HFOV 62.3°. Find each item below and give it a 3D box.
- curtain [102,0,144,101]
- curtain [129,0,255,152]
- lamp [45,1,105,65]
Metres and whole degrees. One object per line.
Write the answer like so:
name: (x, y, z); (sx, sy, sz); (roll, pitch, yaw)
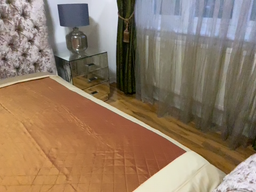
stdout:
curtain: (-0.070, -1.000, 2.550); (0.180, 2.150, 0.530); (-25, 34, -38)
curtain: (0.600, -0.650, 1.990); (1.470, 2.060, 0.150); (22, 35, 40)
lamp: (-0.590, -0.740, 2.420); (0.450, 0.600, 0.390); (-24, 34, -37)
